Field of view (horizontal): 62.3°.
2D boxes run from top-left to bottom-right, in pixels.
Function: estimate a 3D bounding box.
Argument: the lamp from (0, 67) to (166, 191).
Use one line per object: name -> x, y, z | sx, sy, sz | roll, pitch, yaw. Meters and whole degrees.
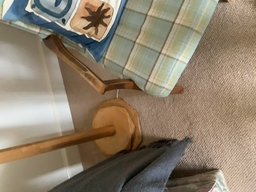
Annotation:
lamp -> -0.500, 0.220, 0.560 | 0.450, 1.780, 0.480 | -21, 79, 30
